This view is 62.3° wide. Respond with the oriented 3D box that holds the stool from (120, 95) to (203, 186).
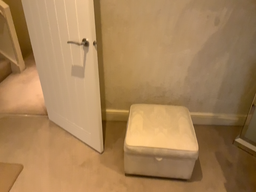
[{"bbox_3d":[0.240,0.350,1.790,0.560,0.430,0.580,3,33,3],"label":"stool"}]
